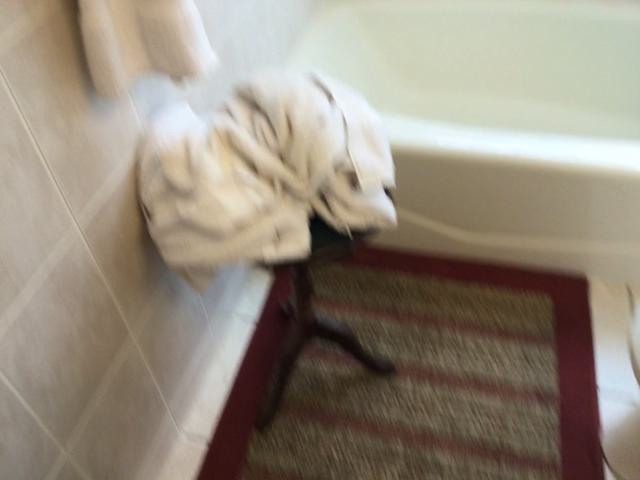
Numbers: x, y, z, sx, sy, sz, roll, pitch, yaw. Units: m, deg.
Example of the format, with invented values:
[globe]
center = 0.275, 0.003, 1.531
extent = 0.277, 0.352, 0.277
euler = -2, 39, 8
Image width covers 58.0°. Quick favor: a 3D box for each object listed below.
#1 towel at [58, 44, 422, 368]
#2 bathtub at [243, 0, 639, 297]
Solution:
[towel]
center = -0.080, -0.060, 0.880
extent = 0.400, 0.320, 0.300
euler = 10, 49, 14
[bathtub]
center = 0.640, -0.290, 1.490
extent = 1.450, 0.360, 0.750
euler = 9, 49, 15
